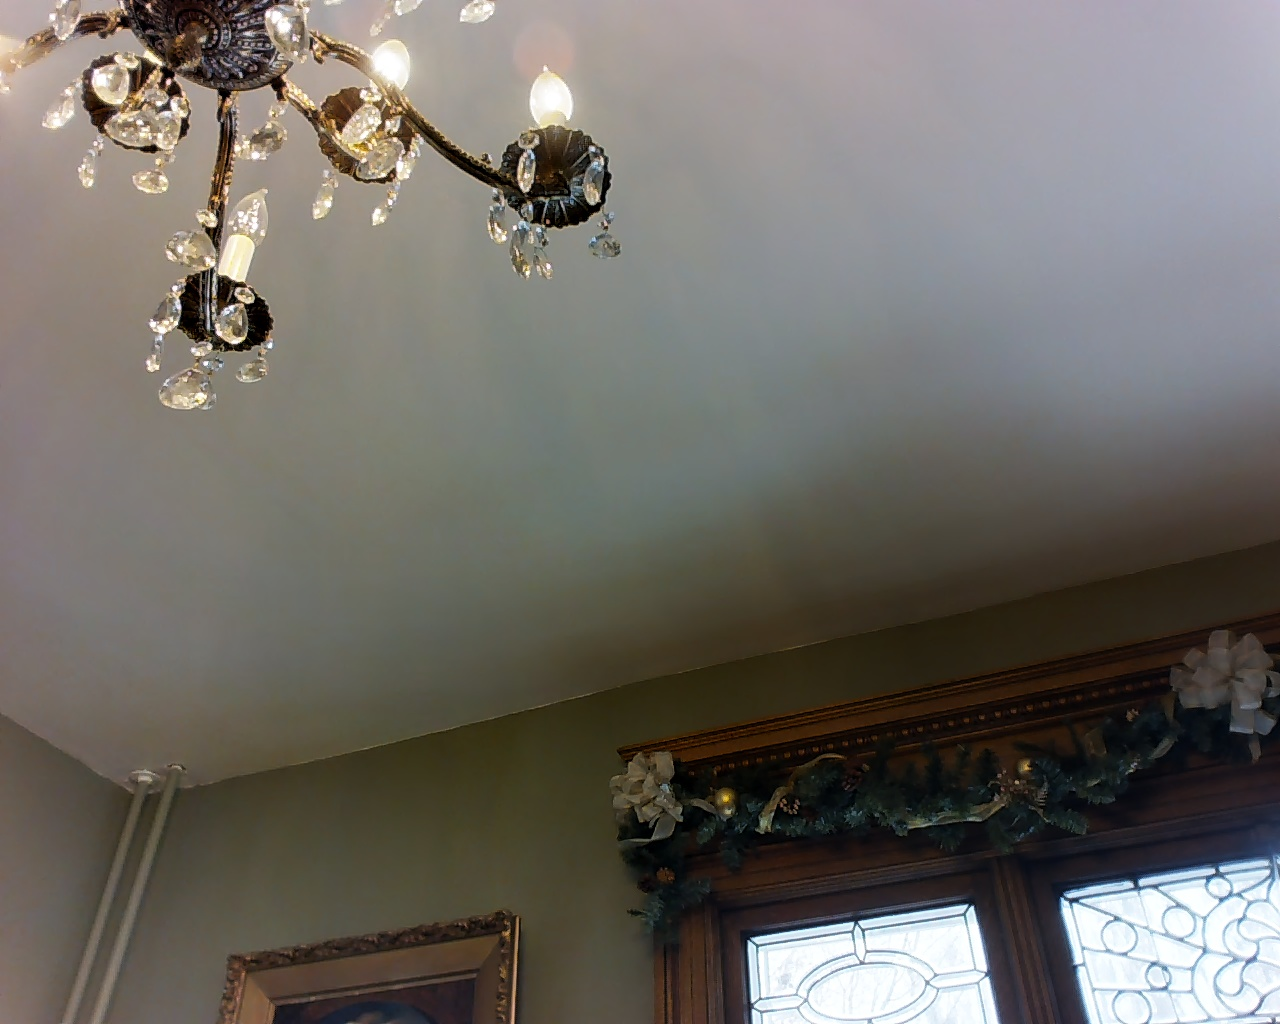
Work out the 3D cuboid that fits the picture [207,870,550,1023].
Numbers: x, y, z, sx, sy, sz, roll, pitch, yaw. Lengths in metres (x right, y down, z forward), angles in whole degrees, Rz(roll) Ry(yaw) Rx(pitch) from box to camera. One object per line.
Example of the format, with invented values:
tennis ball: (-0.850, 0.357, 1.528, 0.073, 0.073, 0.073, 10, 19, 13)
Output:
picture: (-0.620, 1.350, 2.300, 0.820, 1.010, 0.150, -16, -44, 17)
